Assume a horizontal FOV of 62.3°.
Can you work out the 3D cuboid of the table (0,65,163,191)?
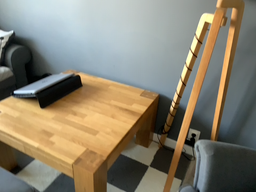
[{"bbox_3d":[-0.380,0.240,1.590,0.940,0.490,0.930,18,32,23],"label":"table"}]
